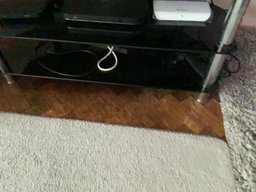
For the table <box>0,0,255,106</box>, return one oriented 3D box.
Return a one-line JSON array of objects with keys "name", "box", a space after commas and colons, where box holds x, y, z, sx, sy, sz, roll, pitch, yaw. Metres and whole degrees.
[{"name": "table", "box": [-0.100, -0.380, 0.970, 1.050, 0.530, 0.510, 7, 51, 5]}]
